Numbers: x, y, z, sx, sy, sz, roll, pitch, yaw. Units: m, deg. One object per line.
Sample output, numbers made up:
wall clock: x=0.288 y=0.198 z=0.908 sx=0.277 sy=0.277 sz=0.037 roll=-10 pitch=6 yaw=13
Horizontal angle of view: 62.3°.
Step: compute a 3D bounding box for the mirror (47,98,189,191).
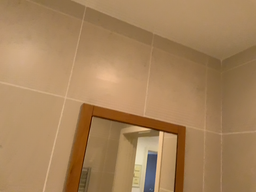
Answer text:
mirror: x=-0.030 y=0.490 z=0.910 sx=0.630 sy=0.860 sz=0.040 roll=13 pitch=-18 yaw=-19
